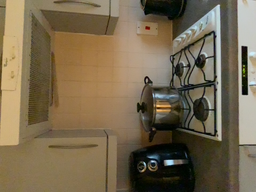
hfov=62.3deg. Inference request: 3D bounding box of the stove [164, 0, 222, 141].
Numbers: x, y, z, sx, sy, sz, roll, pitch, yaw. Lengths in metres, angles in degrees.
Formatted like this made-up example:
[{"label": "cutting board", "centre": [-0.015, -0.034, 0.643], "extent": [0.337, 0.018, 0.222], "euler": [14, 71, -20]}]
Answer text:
[{"label": "stove", "centre": [0.310, -0.100, 1.130], "extent": [0.550, 0.040, 0.580], "euler": [168, 103, -79]}]
